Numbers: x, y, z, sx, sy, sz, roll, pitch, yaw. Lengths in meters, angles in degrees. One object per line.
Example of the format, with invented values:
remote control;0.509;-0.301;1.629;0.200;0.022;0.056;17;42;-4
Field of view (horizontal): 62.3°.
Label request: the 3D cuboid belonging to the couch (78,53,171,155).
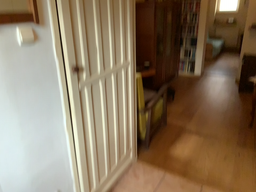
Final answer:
couch;0.000;0.020;2.750;0.810;0.950;0.860;10;24;27
